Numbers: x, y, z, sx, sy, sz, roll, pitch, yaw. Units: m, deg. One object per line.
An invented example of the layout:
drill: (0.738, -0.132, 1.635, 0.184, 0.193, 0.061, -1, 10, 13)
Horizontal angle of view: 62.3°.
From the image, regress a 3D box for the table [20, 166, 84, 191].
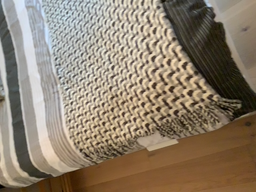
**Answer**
table: (-0.680, 0.920, 1.960, 0.320, 0.420, 0.390, -28, 72, 34)
